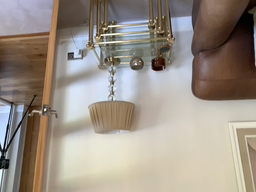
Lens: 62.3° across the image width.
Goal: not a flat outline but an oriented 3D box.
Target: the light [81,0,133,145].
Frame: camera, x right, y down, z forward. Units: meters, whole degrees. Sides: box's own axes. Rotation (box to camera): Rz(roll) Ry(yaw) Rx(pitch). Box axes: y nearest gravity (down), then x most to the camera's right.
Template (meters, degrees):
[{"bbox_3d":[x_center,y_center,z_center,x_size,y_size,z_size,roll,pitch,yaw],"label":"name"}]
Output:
[{"bbox_3d":[-0.130,-0.190,1.650,0.280,1.090,0.370,-3,163,8],"label":"light"}]
